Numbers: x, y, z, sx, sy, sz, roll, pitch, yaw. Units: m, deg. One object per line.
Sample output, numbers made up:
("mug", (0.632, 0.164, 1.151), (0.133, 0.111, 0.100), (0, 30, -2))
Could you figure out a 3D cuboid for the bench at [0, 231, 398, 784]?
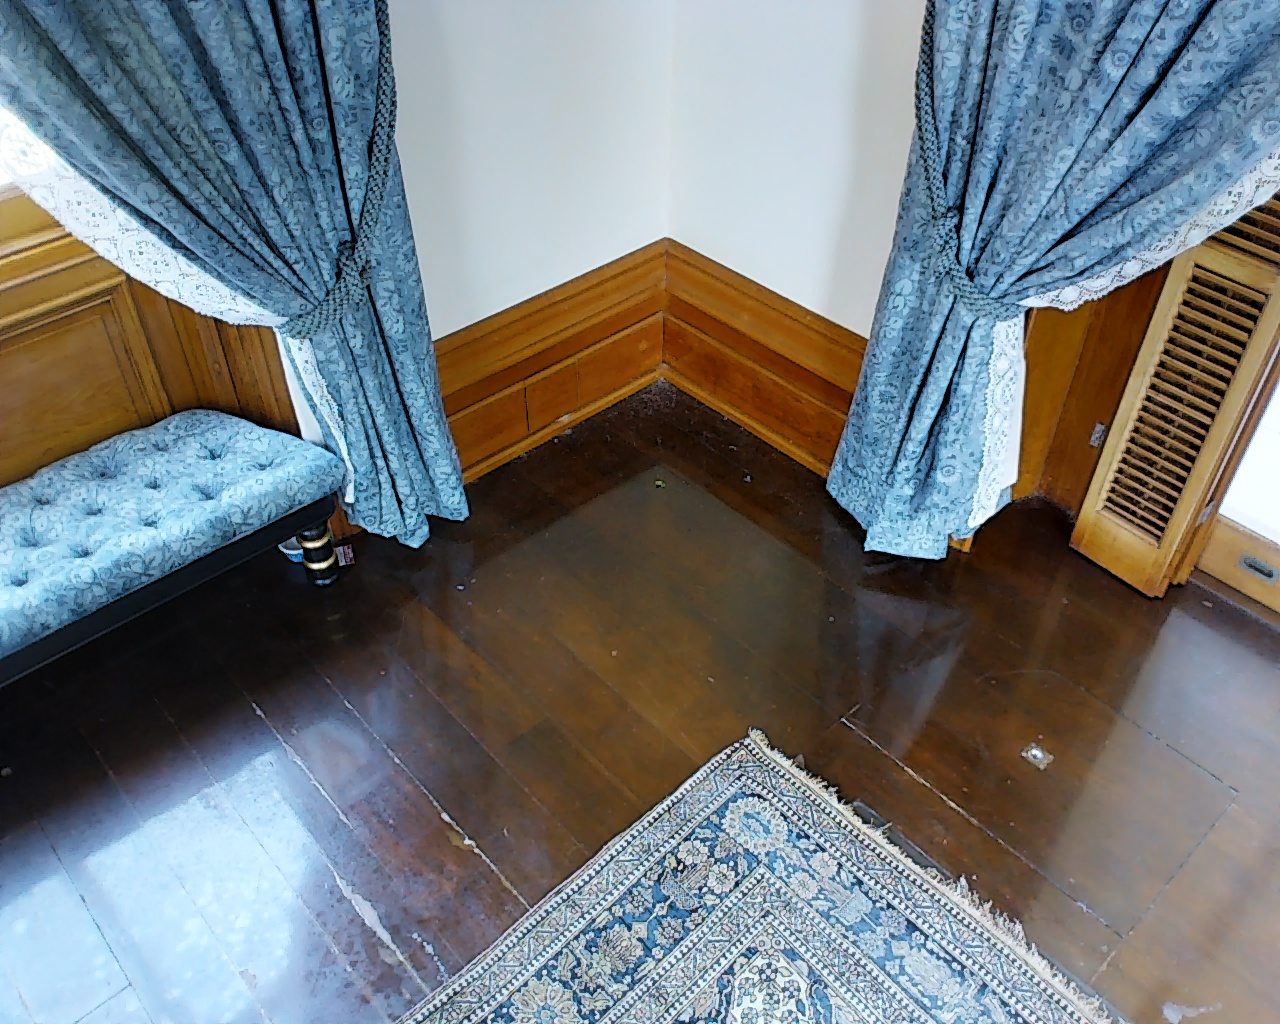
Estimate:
("bench", (-1.220, 0.120, 1.770), (1.530, 0.580, 0.460), (-30, 50, -30))
